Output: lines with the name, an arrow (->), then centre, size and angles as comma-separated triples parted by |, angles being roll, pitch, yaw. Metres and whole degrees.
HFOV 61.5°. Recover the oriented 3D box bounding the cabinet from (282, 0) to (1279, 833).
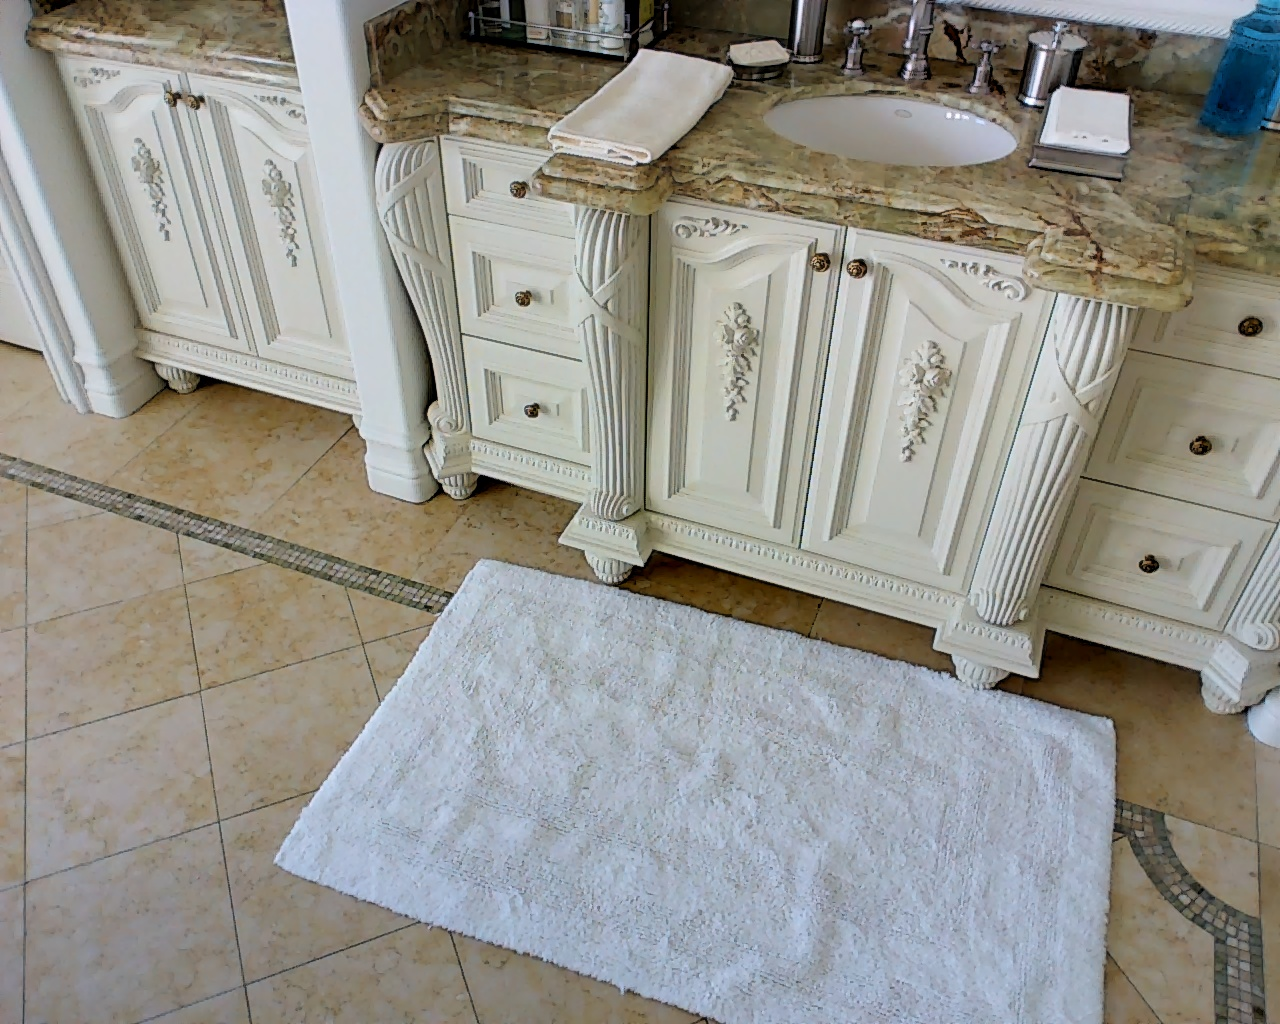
cabinet -> 0.410, -0.280, 2.030 | 1.800, 0.990, 0.760 | 15, 43, 17
